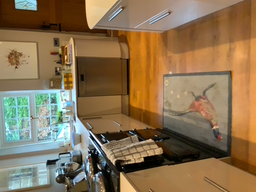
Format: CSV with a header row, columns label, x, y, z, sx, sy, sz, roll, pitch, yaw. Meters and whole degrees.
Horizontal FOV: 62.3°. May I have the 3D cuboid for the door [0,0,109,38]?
label,x,y,z,sx,sy,sz,roll,pitch,yaw
door,-1.360,-1.640,3.870,0.200,2.020,0.990,-169,77,-68

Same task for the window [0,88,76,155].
label,x,y,z,sx,sy,sz,roll,pitch,yaw
window,-1.650,0.420,3.860,0.300,1.320,1.070,-159,68,-66
